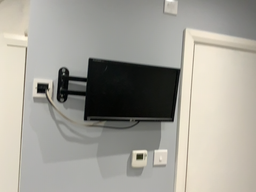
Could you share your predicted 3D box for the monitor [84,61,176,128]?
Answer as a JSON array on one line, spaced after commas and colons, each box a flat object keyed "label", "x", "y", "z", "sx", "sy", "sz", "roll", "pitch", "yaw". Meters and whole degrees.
[{"label": "monitor", "x": 0.030, "y": -0.020, "z": 1.110, "sx": 0.490, "sy": 0.310, "sz": 0.030, "roll": -5, "pitch": 3, "yaw": -22}]
